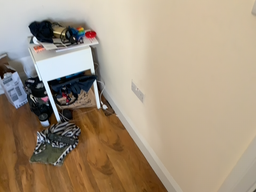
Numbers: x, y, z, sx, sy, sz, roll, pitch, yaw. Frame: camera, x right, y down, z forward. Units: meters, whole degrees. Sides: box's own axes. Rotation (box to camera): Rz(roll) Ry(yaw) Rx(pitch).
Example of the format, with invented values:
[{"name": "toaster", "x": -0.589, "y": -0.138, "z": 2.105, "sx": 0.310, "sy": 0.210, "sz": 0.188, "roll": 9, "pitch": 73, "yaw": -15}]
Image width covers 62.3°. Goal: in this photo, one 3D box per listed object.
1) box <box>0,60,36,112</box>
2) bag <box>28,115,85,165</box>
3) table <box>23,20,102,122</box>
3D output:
[{"name": "box", "x": -0.950, "y": -0.080, "z": 1.760, "sx": 0.230, "sy": 0.340, "sz": 0.180, "roll": -19, "pitch": 47, "yaw": -20}, {"name": "bag", "x": -0.510, "y": 0.310, "z": 1.560, "sx": 0.250, "sy": 0.070, "sz": 0.340, "roll": 12, "pitch": 45, "yaw": 11}, {"name": "table", "x": -0.510, "y": -0.210, "z": 1.730, "sx": 0.390, "sy": 0.580, "sz": 0.480, "roll": -21, "pitch": 48, "yaw": -21}]
